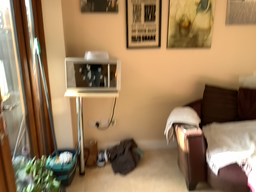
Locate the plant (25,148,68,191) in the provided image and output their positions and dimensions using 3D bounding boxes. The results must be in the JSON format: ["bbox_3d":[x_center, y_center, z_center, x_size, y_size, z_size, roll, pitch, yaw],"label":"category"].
[{"bbox_3d":[-0.670,0.760,1.810,0.260,0.470,0.350,-4,15,-13],"label":"plant"}]
